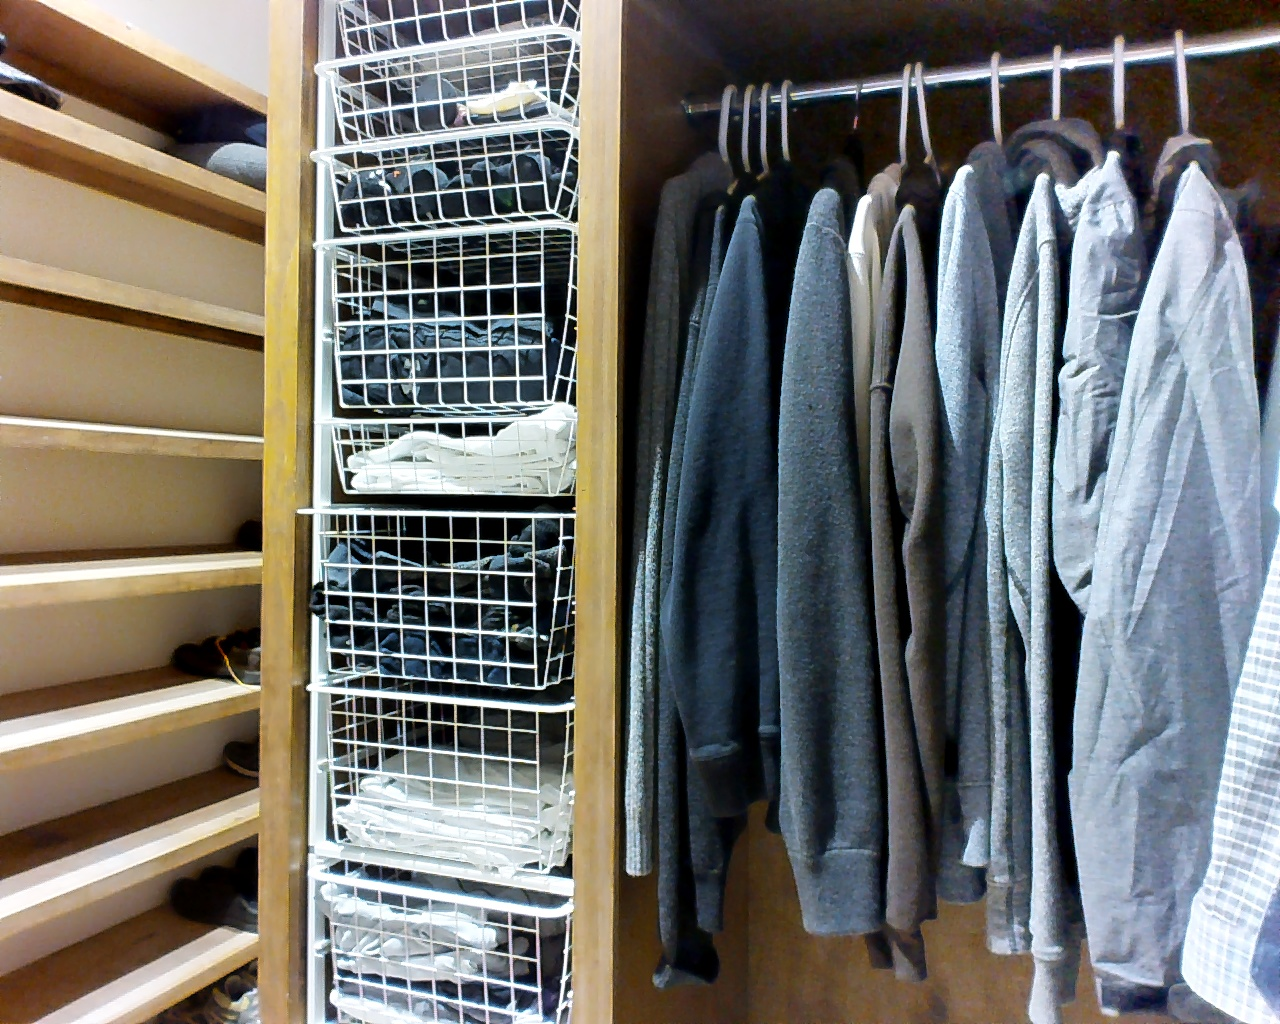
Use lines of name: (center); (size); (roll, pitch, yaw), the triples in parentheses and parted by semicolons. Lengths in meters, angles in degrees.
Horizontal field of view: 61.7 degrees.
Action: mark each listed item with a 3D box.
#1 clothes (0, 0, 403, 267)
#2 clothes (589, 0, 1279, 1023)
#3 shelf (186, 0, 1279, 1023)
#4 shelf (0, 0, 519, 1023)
clothes: (-1.130, -0.820, 2.270); (0.330, 0.210, 1.720); (0, 0, 21)
clothes: (0.370, -0.020, 1.090); (0.750, 0.970, 0.390); (0, 0, 21)
shelf: (0.140, 0.370, 1.310); (1.100, 2.100, 0.710); (0, 0, 22)
shelf: (-1.070, 0.230, 2.560); (0.450, 2.371, 2.490); (0, 0, 21)
